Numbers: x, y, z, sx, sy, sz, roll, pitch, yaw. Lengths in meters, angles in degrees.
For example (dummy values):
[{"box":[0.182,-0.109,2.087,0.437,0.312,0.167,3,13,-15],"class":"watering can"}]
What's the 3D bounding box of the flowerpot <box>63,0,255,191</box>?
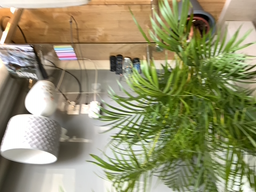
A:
[{"box":[0.150,-0.030,1.360,0.710,1.250,0.710,-4,148,5],"class":"flowerpot"}]
